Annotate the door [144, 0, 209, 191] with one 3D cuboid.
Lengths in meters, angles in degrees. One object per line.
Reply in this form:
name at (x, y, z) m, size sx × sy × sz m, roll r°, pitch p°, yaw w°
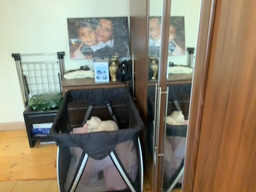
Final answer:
door at (0.250, -0.150, 1.480) m, size 0.050 × 2.320 × 1.020 m, roll -3°, pitch 22°, yaw -5°
